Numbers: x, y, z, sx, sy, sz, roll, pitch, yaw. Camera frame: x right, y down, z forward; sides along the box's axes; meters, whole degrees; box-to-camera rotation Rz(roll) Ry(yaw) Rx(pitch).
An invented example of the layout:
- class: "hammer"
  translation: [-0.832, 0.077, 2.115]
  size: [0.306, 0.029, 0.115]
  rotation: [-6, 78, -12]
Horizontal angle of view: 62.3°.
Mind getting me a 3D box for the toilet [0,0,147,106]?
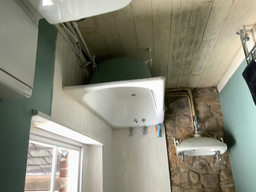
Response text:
- class: "toilet"
  translation: [-0.260, -0.420, 0.830]
  size: [0.590, 0.790, 0.410]
  rotation: [-5, 161, 7]
